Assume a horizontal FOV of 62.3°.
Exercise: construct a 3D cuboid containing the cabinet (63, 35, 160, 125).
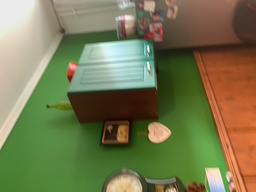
[{"bbox_3d":[-0.080,-0.140,1.640,0.620,0.600,0.330,-86,-11,-45],"label":"cabinet"}]
